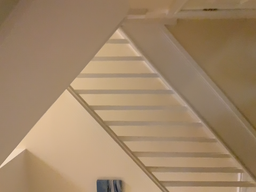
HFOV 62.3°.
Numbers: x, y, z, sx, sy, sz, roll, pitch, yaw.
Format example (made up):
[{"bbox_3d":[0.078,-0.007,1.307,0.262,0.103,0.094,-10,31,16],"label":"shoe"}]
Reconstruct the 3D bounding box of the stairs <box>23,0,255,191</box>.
[{"bbox_3d":[0.340,-0.240,2.080,0.890,2.220,2.170,-80,-10,-80],"label":"stairs"}]
